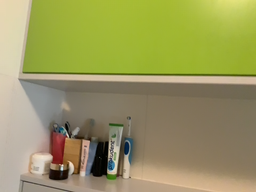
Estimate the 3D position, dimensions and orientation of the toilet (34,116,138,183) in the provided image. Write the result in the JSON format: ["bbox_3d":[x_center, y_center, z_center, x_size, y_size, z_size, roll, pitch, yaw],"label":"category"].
[{"bbox_3d":[-0.150,0.180,0.780,0.340,0.180,0.130,3,-6,20],"label":"toilet"}]
